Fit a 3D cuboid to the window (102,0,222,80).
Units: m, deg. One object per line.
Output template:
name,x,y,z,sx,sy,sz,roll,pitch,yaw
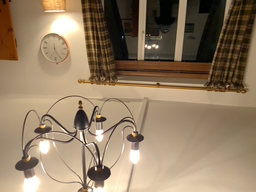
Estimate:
window,0.440,-0.960,3.120,1.640,1.360,0.160,4,-161,9
